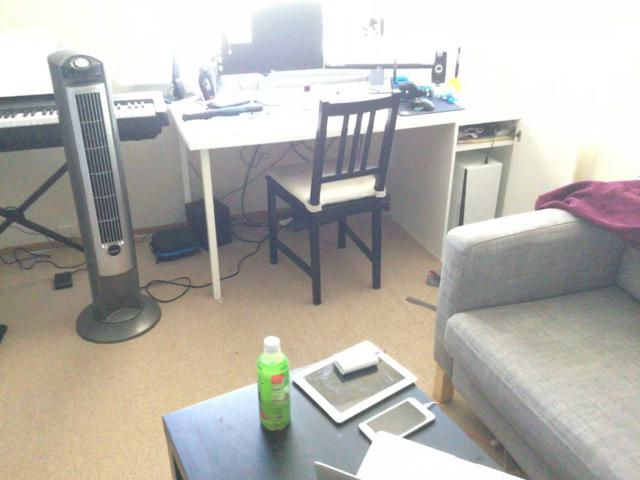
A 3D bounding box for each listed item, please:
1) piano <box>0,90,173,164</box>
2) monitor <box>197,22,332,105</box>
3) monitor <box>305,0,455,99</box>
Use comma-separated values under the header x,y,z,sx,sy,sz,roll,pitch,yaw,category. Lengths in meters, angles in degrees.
x,y,z,sx,sy,sz,roll,pitch,yaw,category
-1.270,-0.420,2.240,1.320,0.160,0.340,-9,28,-17,piano
-0.250,-0.820,2.660,0.570,0.310,0.210,-9,28,-17,monitor
0.260,-0.910,2.660,0.580,0.400,0.340,-9,28,-17,monitor
